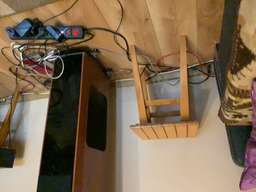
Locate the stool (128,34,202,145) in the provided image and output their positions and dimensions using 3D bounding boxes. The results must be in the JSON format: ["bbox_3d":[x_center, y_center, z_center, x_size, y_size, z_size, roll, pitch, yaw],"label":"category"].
[{"bbox_3d":[0.190,-0.010,1.110,0.300,0.460,0.320,-7,158,14],"label":"stool"}]
